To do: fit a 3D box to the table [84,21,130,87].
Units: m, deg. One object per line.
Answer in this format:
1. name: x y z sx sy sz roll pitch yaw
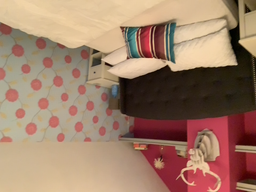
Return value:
1. table: -0.300 -0.590 3.170 0.360 0.790 0.540 -7 168 44
